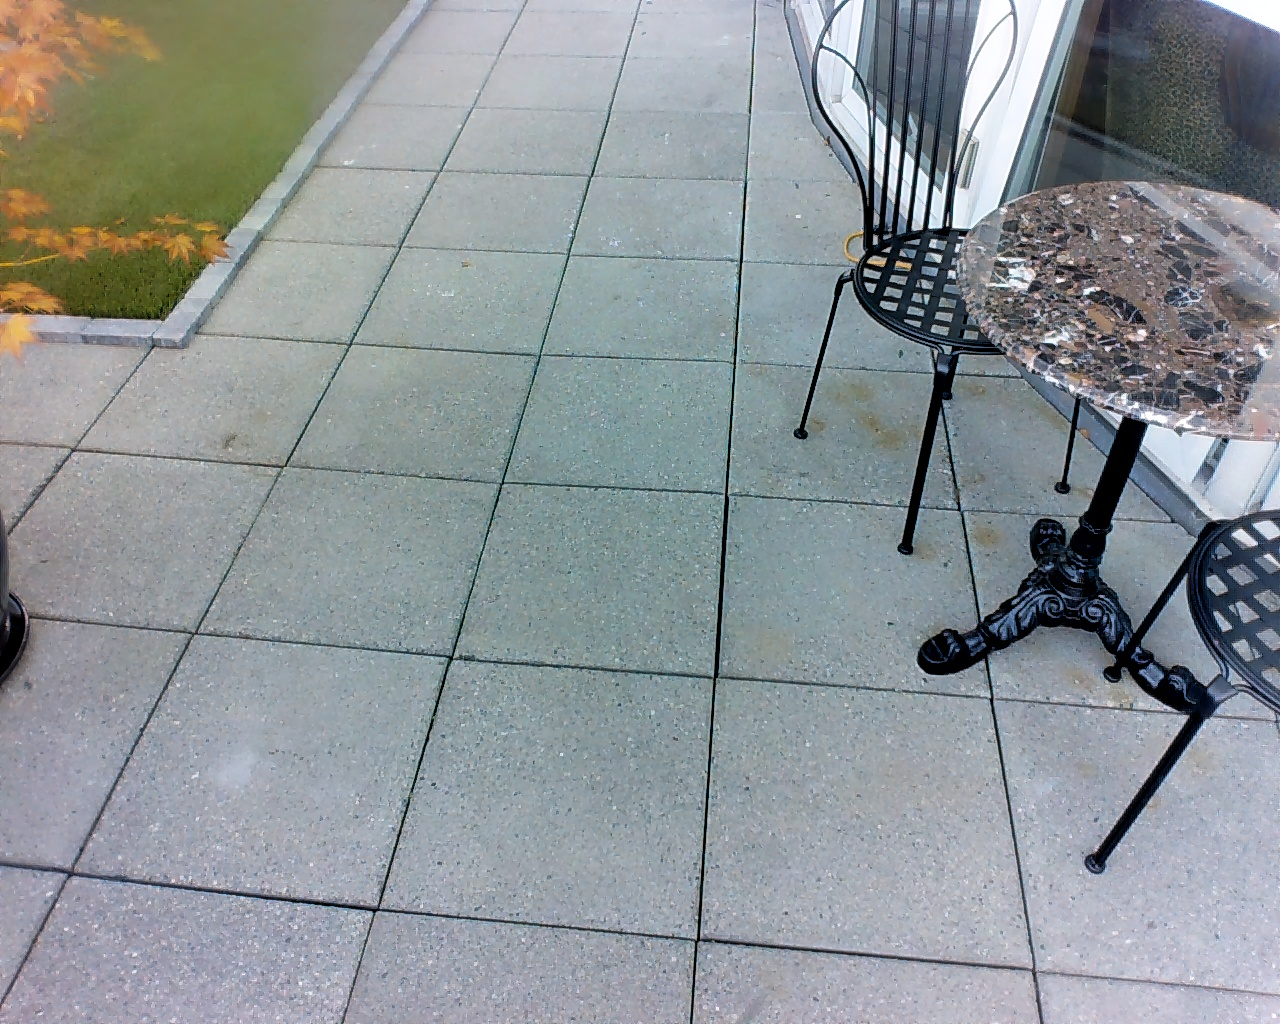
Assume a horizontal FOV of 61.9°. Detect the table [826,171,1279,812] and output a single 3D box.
[{"bbox_3d":[0.720,-0.040,1.640,0.620,0.680,0.600,-8,44,-9],"label":"table"}]
